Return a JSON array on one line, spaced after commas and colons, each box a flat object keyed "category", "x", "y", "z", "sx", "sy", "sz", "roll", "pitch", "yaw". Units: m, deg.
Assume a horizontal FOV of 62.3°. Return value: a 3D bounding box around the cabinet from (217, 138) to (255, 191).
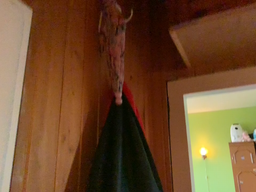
[{"category": "cabinet", "x": 2.210, "y": 1.960, "z": 4.090, "sx": 0.640, "sy": 2.210, "sz": 0.480, "roll": -8, "pitch": -17, "yaw": 23}]
